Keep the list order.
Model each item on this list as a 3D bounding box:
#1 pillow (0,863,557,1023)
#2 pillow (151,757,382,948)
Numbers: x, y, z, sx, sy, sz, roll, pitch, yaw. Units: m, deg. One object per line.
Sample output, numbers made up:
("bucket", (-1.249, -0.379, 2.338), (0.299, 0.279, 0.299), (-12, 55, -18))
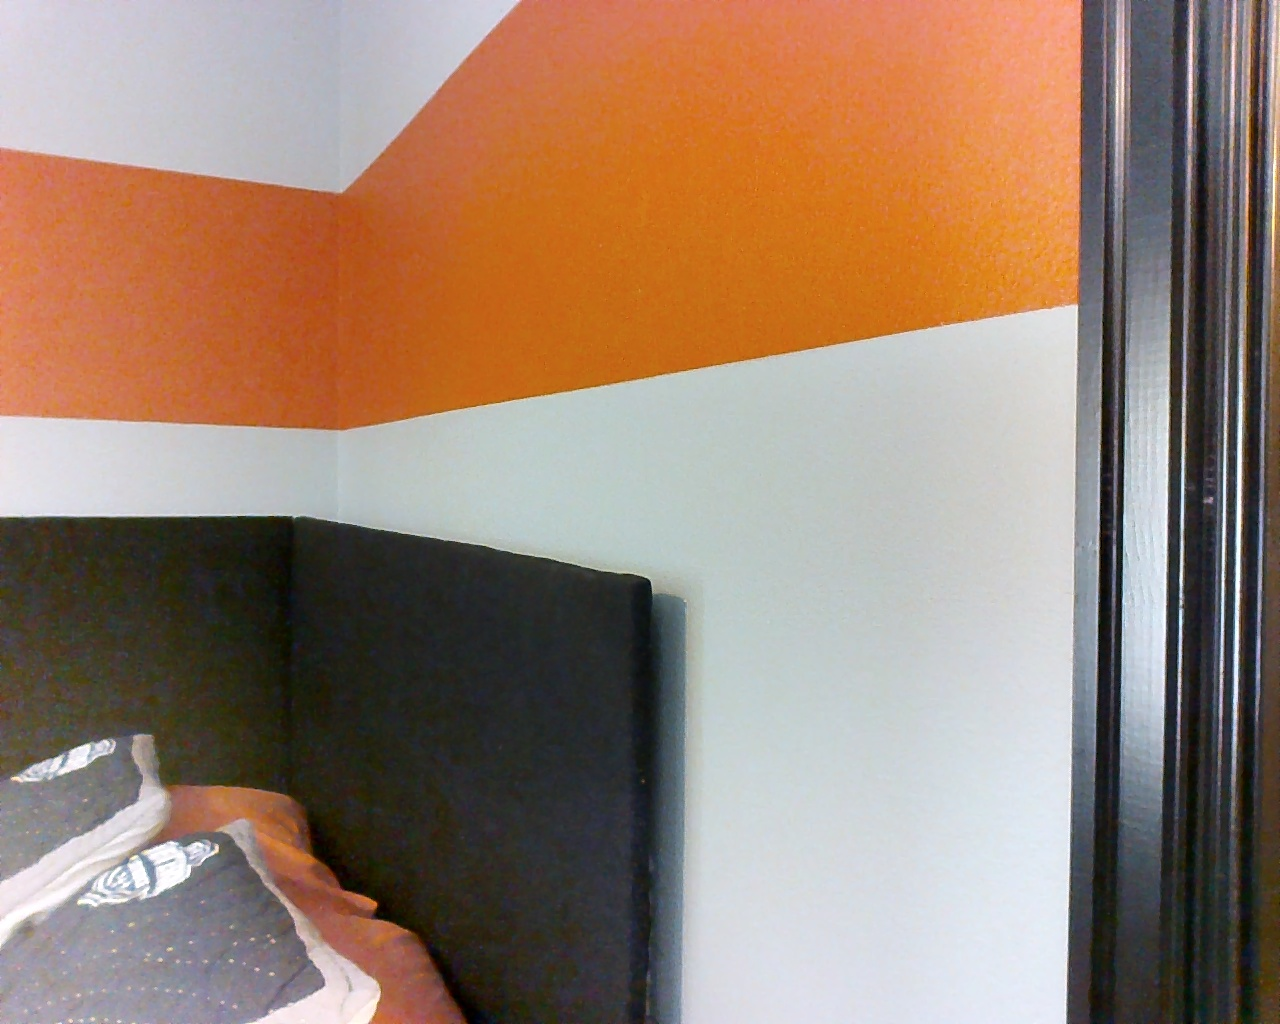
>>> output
("pillow", (-0.400, 0.580, 1.060), (0.530, 0.190, 0.670), (1, 0, -28))
("pillow", (-0.610, 0.510, 1.670), (0.240, 0.060, 0.670), (21, -9, -26))
